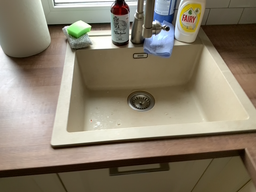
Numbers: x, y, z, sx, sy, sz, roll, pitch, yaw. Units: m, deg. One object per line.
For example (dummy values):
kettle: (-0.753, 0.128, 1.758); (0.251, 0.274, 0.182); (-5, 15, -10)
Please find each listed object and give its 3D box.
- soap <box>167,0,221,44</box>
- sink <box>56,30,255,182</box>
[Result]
soap: (0.240, -0.340, 0.780); (0.130, 0.250, 0.140); (-2, 47, -4)
sink: (0.080, 0.000, 0.760); (0.550, 0.230, 0.480); (-3, 47, -5)
